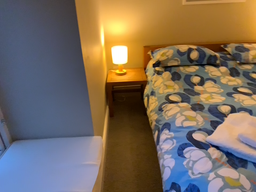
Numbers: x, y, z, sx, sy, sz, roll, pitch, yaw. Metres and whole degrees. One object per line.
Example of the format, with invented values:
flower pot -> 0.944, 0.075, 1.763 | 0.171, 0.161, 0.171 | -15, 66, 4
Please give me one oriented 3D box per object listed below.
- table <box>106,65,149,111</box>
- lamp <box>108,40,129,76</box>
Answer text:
table -> -0.020, -0.110, 2.670 | 0.490, 0.420, 0.380 | -4, 29, -5
lamp -> -0.110, -0.450, 2.490 | 0.220, 0.340, 0.260 | -3, 28, -3
